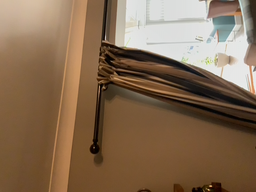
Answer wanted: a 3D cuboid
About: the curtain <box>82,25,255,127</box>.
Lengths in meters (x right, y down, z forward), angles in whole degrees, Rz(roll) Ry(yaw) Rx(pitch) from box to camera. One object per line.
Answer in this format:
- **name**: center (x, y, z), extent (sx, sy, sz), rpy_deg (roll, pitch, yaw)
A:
- **curtain**: center (0.680, -0.120, 1.280), extent (0.170, 1.870, 0.590), rpy_deg (66, -155, -74)
